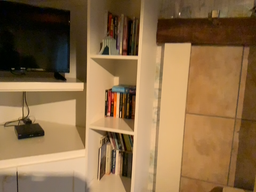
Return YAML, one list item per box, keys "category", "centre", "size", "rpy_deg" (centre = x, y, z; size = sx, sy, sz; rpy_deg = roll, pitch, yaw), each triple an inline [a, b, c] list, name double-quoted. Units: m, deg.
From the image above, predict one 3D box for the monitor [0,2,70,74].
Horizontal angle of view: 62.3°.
- category: "monitor"
  centre: [-0.750, -0.370, 1.380]
  size: [0.720, 0.430, 0.060]
  rpy_deg: [-2, 10, -29]
